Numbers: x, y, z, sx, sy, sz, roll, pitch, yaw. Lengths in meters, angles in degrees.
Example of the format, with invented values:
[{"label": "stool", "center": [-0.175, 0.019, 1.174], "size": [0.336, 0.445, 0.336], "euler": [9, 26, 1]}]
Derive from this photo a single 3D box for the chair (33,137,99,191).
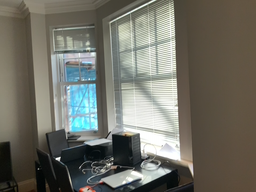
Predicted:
[{"label": "chair", "center": [-0.640, 1.010, 2.270], "size": [0.530, 1.000, 0.390], "euler": [-5, 3, -42]}]
